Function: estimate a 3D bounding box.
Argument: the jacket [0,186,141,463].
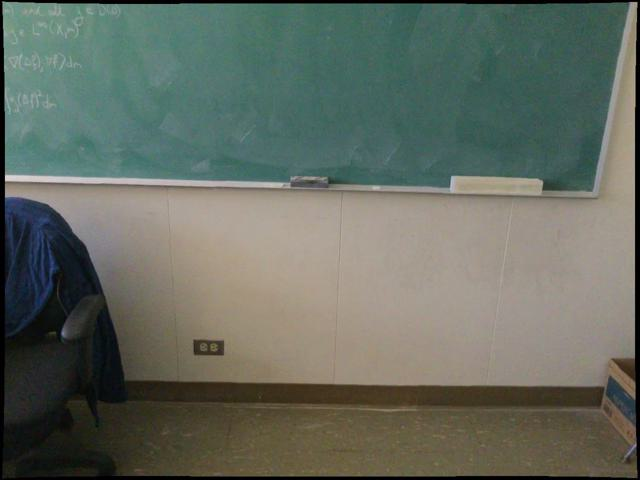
[{"bbox_3d":[-0.967,0.291,1.990,0.519,0.882,0.360,0,21,-2],"label":"jacket"}]
